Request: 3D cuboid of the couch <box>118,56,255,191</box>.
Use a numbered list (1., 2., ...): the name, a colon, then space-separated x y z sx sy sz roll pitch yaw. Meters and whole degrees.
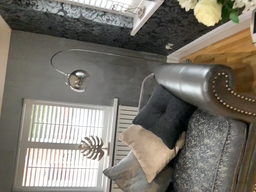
1. couch: 0.530 0.540 1.910 1.180 0.800 1.640 -139 57 -72
